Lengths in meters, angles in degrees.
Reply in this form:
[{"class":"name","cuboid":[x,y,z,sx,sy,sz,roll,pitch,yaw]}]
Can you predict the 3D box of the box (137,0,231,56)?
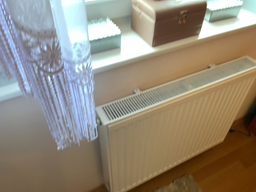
[{"class":"box","cuboid":[0.210,-0.330,0.870,0.250,0.180,0.240,-18,48,-20]}]
